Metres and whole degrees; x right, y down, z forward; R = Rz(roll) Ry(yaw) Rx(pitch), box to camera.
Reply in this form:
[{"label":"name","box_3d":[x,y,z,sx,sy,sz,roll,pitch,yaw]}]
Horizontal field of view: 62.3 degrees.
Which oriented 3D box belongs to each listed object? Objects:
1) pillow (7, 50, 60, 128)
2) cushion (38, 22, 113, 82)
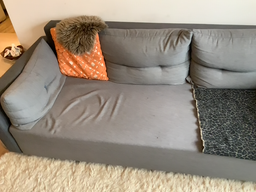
[{"label":"pillow","box_3d":[-0.670,-0.080,1.560,0.140,0.260,0.590,18,33,-13]},{"label":"cushion","box_3d":[-0.410,-0.370,1.800,0.500,0.390,0.270,4,43,6]}]
